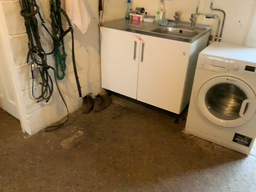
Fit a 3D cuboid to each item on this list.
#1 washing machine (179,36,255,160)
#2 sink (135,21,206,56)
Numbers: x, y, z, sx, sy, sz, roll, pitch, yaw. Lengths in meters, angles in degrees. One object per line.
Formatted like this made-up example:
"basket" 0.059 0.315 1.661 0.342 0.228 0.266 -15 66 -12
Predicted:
"washing machine" 0.980 -0.030 2.040 0.630 0.840 0.660 20 35 28
"sink" 0.440 -0.610 2.170 0.540 0.150 0.510 20 35 28
